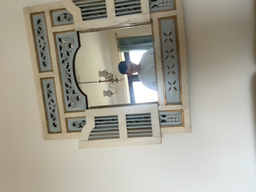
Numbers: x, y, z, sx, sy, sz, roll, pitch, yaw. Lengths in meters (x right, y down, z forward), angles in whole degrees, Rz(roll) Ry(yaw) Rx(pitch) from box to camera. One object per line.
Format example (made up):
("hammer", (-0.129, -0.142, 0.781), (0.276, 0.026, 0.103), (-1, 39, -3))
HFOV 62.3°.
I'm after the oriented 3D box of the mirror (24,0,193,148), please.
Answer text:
("mirror", (-0.110, -0.150, 1.200), (0.060, 0.870, 0.870), (-43, -51, -79))
